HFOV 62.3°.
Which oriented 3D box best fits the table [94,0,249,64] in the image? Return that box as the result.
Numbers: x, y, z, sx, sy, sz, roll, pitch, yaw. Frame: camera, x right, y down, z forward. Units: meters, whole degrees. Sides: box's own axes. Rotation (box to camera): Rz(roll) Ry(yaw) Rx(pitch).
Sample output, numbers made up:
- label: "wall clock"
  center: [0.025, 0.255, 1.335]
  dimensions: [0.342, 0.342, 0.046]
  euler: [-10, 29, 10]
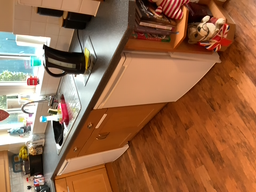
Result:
- label: "table"
  center: [0.300, -0.440, 1.330]
  dimensions: [0.280, 0.920, 0.340]
  euler: [-53, 50, 46]
